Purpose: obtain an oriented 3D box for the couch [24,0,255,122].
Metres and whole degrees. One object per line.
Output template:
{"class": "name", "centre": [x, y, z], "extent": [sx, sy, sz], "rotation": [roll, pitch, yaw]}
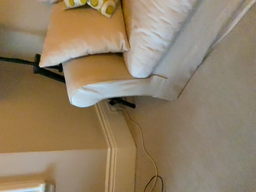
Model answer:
{"class": "couch", "centre": [0.140, -0.910, 0.970], "extent": [2.010, 0.860, 0.940], "rotation": [-62, 39, 33]}
